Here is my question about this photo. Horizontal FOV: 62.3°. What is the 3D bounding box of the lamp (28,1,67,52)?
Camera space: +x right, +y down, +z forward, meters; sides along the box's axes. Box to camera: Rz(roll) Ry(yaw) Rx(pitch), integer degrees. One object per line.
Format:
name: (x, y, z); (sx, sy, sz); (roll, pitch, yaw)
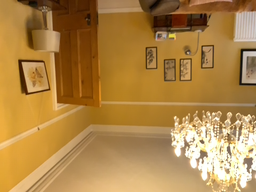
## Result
lamp: (-1.050, -0.890, 2.830); (0.280, 0.570, 0.470); (1, -171, 6)
